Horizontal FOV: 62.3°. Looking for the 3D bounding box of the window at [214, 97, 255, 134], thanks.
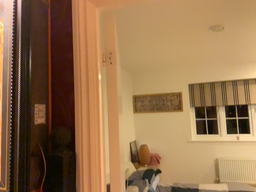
[{"bbox_3d":[2.520,0.350,3.900,1.690,0.680,0.090,-5,-5,26],"label":"window"}]
